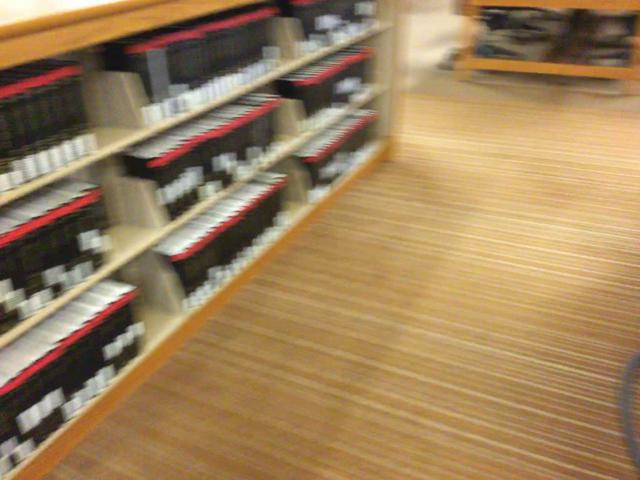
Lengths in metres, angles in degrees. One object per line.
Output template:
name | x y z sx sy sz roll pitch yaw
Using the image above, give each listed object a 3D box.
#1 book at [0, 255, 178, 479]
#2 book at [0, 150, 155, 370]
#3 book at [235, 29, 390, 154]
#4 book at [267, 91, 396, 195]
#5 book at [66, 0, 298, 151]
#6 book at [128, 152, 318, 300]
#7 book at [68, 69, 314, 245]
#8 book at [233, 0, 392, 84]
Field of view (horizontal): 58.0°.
book | -0.730 0.360 1.530 0.210 0.280 0.720 10 35 29
book | -0.820 0.080 1.410 0.310 0.300 0.760 10 35 29
book | 0.010 -0.750 2.800 0.290 0.300 0.930 10 35 29
book | 0.090 -0.520 2.930 0.260 0.200 0.850 10 35 29
book | -0.400 -0.610 1.940 0.220 0.310 0.810 10 35 29
book | -0.330 -0.090 2.200 0.300 0.190 0.740 10 35 29
book | -0.420 -0.360 2.160 0.380 0.310 0.860 10 35 29
book | 0.010 -1.020 2.650 0.280 0.330 0.890 10 35 29
